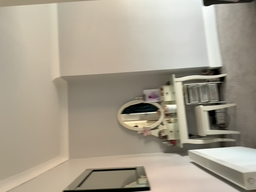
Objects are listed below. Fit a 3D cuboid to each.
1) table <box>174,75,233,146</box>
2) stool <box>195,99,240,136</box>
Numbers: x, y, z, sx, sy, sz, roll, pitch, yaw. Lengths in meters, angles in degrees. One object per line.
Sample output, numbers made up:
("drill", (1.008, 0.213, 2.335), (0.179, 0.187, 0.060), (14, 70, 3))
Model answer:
("table", (1.110, 0.220, 3.200), (0.310, 0.680, 0.990), (86, 180, -82))
("stool", (1.170, 0.280, 2.800), (0.260, 0.450, 0.430), (86, -179, -85))
